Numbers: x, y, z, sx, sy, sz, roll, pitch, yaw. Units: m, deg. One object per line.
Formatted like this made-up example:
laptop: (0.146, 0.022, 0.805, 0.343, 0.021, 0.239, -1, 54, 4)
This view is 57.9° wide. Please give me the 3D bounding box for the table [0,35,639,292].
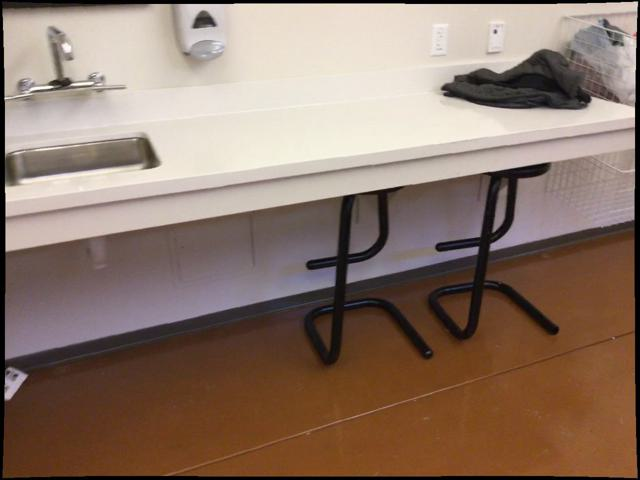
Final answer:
table: (-0.010, -0.340, 1.850, 2.308, 0.360, 0.630, -11, 28, -18)
